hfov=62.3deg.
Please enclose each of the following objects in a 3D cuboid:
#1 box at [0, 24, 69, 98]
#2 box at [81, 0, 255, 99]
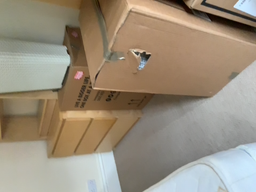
[{"bbox_3d":[-0.780,-0.230,1.510,0.380,0.590,0.330,-55,44,46],"label":"box"},{"bbox_3d":[0.230,-0.340,1.090,0.480,0.760,0.540,-51,47,48],"label":"box"}]
